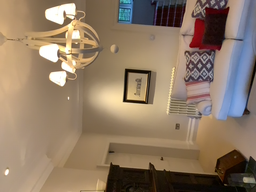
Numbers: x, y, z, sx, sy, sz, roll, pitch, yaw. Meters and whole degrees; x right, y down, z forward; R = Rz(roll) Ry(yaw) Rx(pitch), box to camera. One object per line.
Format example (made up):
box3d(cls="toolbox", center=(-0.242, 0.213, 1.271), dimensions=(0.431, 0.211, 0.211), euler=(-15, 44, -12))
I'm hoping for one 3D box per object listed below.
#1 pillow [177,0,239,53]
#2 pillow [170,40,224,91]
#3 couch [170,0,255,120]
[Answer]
box3d(cls="pillow", center=(1.140, -1.030, 3.070), dimensions=(0.580, 0.550, 0.270), euler=(-49, 8, 12))
box3d(cls="pillow", center=(1.040, -0.460, 3.220), dimensions=(0.640, 0.440, 0.150), euler=(-46, 9, 12))
box3d(cls="couch", center=(1.310, -0.880, 3.120), dimensions=(0.960, 0.930, 2.180), euler=(-87, 2, -75))
